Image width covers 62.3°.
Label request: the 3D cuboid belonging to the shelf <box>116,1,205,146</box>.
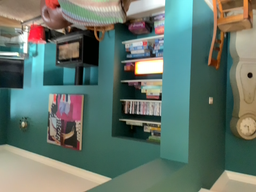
[{"bbox_3d":[0.450,-0.300,3.160,1.160,1.820,0.420,2,180,35],"label":"shelf"}]

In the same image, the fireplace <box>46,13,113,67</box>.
[{"bbox_3d":[-0.920,-0.960,3.890,1.240,0.720,0.490,2,180,39],"label":"fireplace"}]
